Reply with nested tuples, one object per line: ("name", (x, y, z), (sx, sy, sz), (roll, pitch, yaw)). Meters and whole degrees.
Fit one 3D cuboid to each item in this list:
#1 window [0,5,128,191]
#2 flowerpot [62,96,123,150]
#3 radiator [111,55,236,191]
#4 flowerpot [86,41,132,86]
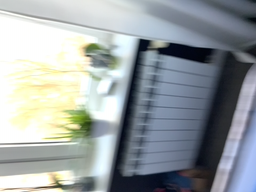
("window", (-0.850, 0.400, 1.160), (0.140, 1.450, 1.750), (35, 116, 55))
("flowerpot", (-0.220, 0.150, 1.260), (0.240, 0.260, 0.230), (29, 111, 57))
("radiator", (0.340, 0.240, 1.530), (0.160, 0.770, 0.920), (29, 110, 57))
("flowerpot", (-0.120, -0.190, 1.250), (0.220, 0.170, 0.220), (17, 100, 59))
